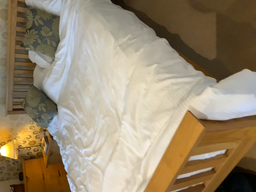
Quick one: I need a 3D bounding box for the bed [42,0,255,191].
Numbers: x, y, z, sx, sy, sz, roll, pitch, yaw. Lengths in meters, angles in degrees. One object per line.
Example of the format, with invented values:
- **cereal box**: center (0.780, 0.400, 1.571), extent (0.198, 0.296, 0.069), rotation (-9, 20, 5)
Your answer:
- **bed**: center (-0.190, 0.100, 1.900), extent (2.110, 0.620, 1.730), rotation (53, 133, 44)
